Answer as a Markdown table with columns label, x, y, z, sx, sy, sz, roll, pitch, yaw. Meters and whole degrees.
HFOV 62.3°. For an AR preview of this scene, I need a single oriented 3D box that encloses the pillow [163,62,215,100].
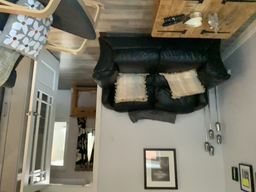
| label | x | y | z | sx | sy | sz | roll | pitch | yaw |
| --- | --- | --- | --- | --- | --- | --- | --- | --- | --- |
| pillow | 0.830 | -0.210 | 2.990 | 0.600 | 0.460 | 0.260 | 1 | -145 | 2 |

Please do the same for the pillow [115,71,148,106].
| label | x | y | z | sx | sy | sz | roll | pitch | yaw |
| --- | --- | --- | --- | --- | --- | --- | --- | --- | --- |
| pillow | 0.050 | -0.120 | 3.090 | 0.460 | 0.470 | 0.250 | 0 | -169 | 1 |

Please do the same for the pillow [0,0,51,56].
| label | x | y | z | sx | sy | sz | roll | pitch | yaw |
| --- | --- | --- | --- | --- | --- | --- | --- | --- | --- |
| pillow | -0.830 | -0.540 | 1.740 | 0.170 | 0.380 | 0.560 | 0 | -166 | 0 |
